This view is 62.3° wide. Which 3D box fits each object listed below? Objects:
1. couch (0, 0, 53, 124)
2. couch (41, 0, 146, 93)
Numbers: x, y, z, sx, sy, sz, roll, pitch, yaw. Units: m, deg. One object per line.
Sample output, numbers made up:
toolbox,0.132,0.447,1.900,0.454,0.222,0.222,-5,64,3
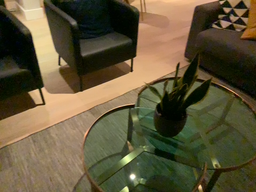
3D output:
couch,-1.170,-0.270,1.750,0.730,0.740,0.690,-25,49,-31
couch,-0.380,-0.640,2.300,0.720,0.710,0.790,-24,48,-30
